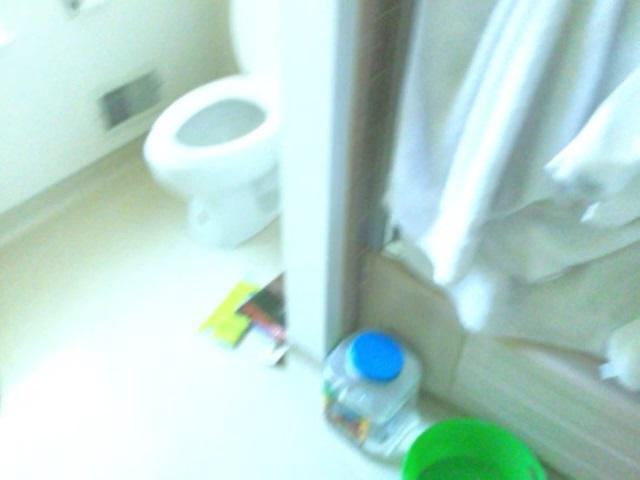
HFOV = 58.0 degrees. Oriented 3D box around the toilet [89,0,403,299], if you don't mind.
[{"bbox_3d":[-0.160,-0.400,1.810,0.460,0.770,0.750,27,49,27],"label":"toilet"}]
